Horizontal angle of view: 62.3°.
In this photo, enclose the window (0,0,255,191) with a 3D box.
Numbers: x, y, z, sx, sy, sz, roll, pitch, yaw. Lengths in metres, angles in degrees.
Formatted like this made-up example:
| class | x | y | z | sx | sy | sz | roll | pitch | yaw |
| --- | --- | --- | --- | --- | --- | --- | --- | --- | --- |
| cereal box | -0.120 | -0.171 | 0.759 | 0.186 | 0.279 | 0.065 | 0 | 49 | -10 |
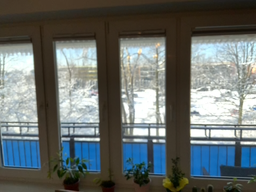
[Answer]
| class | x | y | z | sx | sy | sz | roll | pitch | yaw |
| --- | --- | --- | --- | --- | --- | --- | --- | --- | --- |
| window | 0.050 | 0.090 | 1.700 | 2.930 | 1.520 | 0.180 | 0 | 7 | 10 |
